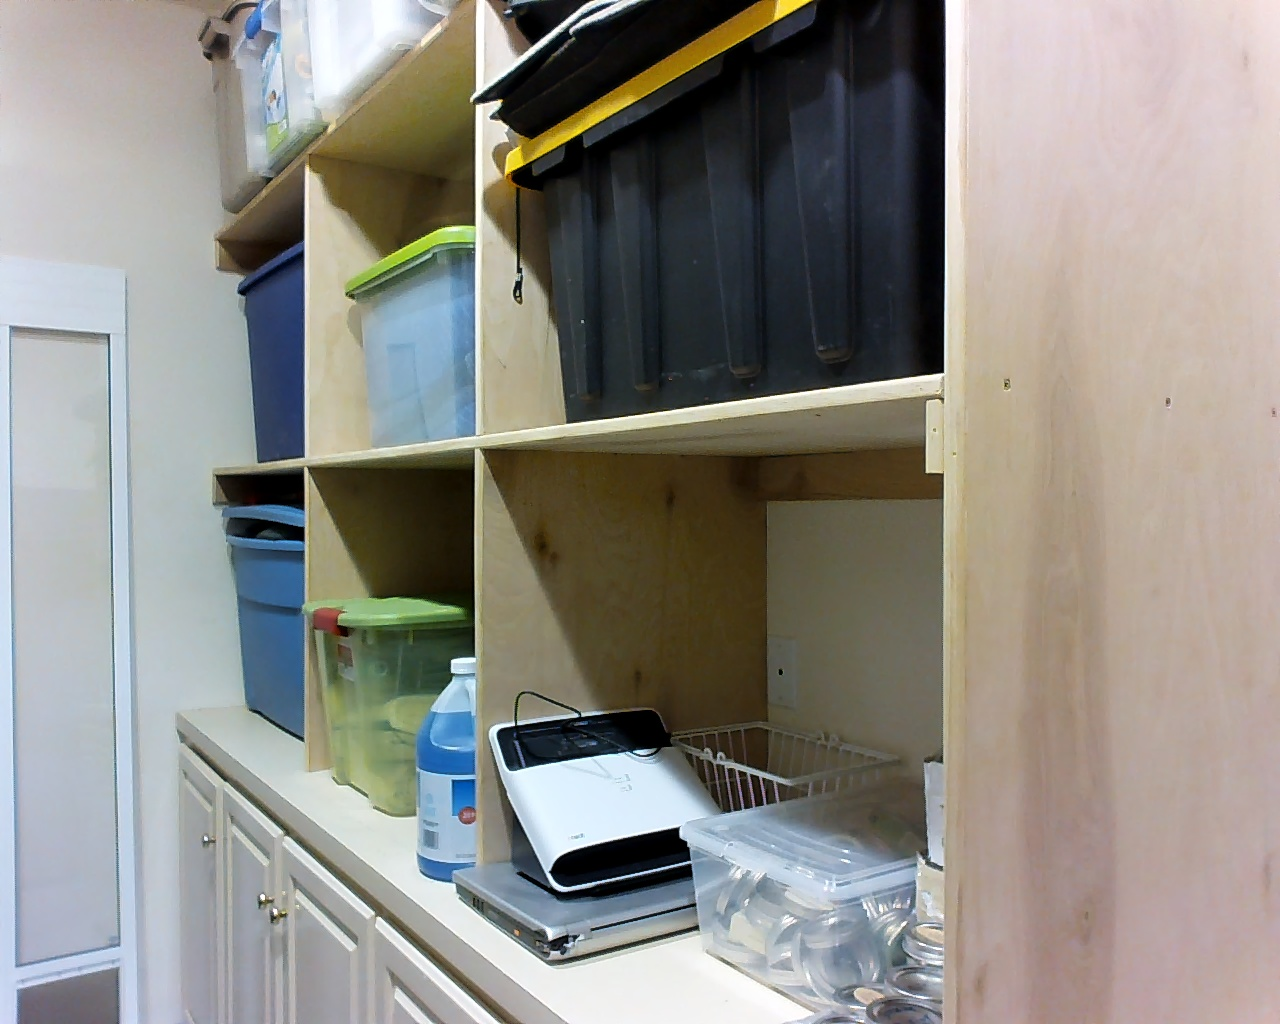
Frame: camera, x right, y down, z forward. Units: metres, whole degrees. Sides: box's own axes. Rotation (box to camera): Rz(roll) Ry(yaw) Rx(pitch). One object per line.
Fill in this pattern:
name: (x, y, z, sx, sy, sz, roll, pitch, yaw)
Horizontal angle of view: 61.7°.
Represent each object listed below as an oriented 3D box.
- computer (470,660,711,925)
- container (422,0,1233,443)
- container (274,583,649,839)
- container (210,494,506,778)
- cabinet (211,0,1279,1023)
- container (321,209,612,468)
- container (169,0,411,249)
computer: (-0.060, 0.380, 1.460, 0.230, 0.270, 0.080, 37, -21, -29)
container: (0.150, -0.380, 1.240, 0.520, 0.540, 0.790, 0, 0, -34)
container: (-0.350, 0.340, 2.060, 0.560, 0.360, 0.480, 0, 0, -34)
container: (-0.710, 0.250, 2.600, 0.490, 0.570, 0.740, 0, 0, -33)
cabinet: (-0.220, 0.340, 1.930, 0.500, 2.161, 2.460, 0, 0, -34)
container: (-0.340, -0.280, 1.970, 0.310, 0.370, 0.580, 0, 0, -34)
container: (-0.830, -0.930, 2.520, 0.430, 0.470, 0.450, 0, 0, -34)
